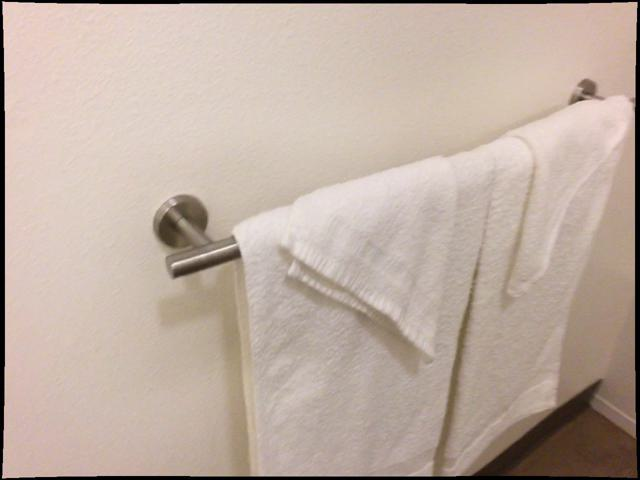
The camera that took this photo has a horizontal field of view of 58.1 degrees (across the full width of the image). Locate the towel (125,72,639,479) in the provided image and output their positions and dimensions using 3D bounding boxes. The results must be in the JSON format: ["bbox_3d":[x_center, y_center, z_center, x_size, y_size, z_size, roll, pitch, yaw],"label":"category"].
[{"bbox_3d":[0.150,0.170,0.780,0.689,0.651,0.120,-21,40,-30],"label":"towel"}]
